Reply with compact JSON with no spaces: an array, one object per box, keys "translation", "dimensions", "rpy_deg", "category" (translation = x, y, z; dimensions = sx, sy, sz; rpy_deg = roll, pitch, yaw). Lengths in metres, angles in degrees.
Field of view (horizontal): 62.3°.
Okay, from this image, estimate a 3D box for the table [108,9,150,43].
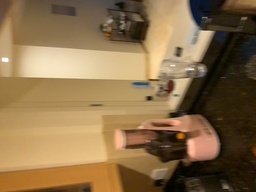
[{"translation":[0.000,-1.440,4.370],"dimensions":[0.490,0.690,0.440],"rpy_deg":[-109,26,-45],"category":"table"}]
